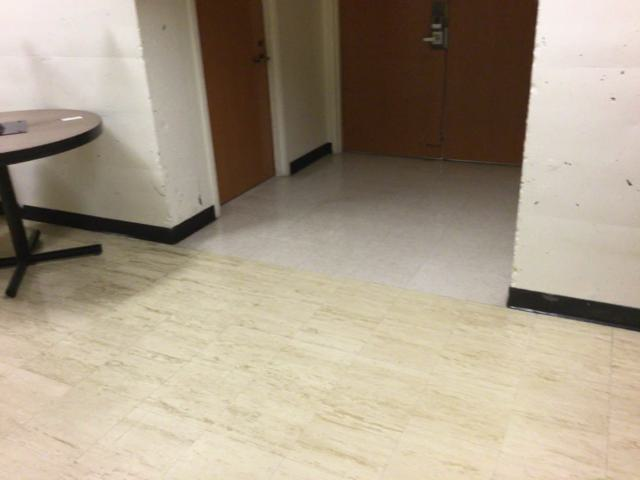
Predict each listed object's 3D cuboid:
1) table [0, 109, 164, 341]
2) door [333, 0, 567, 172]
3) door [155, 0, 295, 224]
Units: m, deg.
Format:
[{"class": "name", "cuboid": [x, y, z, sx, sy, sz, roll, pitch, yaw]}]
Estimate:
[{"class": "table", "cuboid": [-1.630, -0.170, 2.990, 1.050, 0.780, 1.060, 9, 25, 28]}, {"class": "door", "cuboid": [0.930, -1.580, 4.380, 1.680, 1.980, 0.310, 8, 25, 25]}, {"class": "door", "cuboid": [-0.560, -1.270, 3.590, 0.210, 2.110, 1.030, 8, 25, 25]}]
